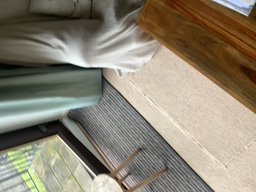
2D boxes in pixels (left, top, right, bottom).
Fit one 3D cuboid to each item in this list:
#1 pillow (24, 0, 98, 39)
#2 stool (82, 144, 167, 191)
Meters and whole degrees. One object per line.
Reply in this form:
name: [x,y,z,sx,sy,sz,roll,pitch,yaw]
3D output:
pillow: [-0.400,-0.620,1.240,0.160,0.380,0.370,21,154,25]
stool: [-0.020,0.610,1.480,0.300,0.440,0.310,44,121,23]
